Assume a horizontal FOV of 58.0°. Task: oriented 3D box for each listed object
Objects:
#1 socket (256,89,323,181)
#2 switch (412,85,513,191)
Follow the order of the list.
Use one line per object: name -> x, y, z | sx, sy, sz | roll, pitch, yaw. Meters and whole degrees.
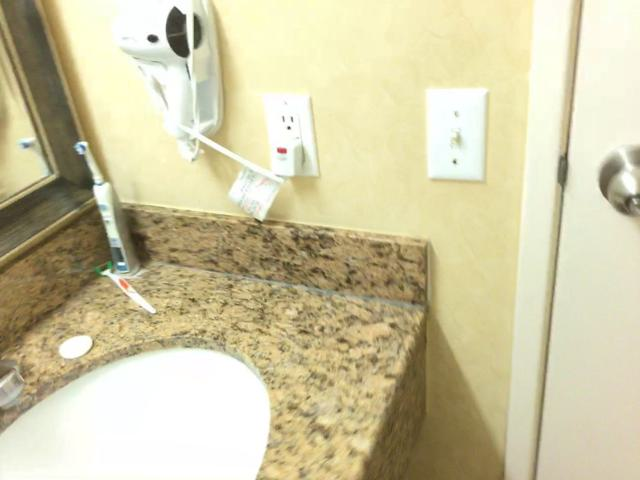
socket -> -0.040, -0.140, 0.780 | 0.070, 0.120, 0.020 | 5, 30, 24
switch -> 0.170, -0.120, 0.690 | 0.110, 0.120, 0.020 | 5, 30, 24
